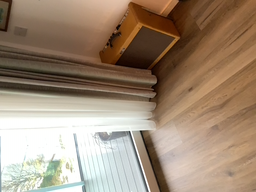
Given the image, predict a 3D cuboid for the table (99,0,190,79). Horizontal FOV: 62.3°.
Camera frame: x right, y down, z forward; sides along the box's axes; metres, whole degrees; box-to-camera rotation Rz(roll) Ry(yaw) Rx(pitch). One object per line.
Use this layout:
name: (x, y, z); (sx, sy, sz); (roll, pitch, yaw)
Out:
table: (0.130, -0.470, 1.920); (0.570, 0.530, 0.290); (-46, 52, 41)
